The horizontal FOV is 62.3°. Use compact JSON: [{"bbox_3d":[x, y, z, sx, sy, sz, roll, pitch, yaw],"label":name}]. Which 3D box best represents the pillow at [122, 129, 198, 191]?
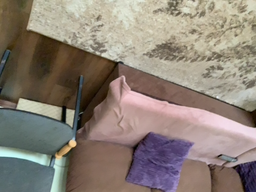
[{"bbox_3d":[0.210,0.500,1.550,0.410,0.330,0.310,18,138,-24],"label":"pillow"}]

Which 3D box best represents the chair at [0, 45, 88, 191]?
[{"bbox_3d":[-0.640,0.240,1.340,0.510,0.800,0.580,18,138,-24],"label":"chair"}]
